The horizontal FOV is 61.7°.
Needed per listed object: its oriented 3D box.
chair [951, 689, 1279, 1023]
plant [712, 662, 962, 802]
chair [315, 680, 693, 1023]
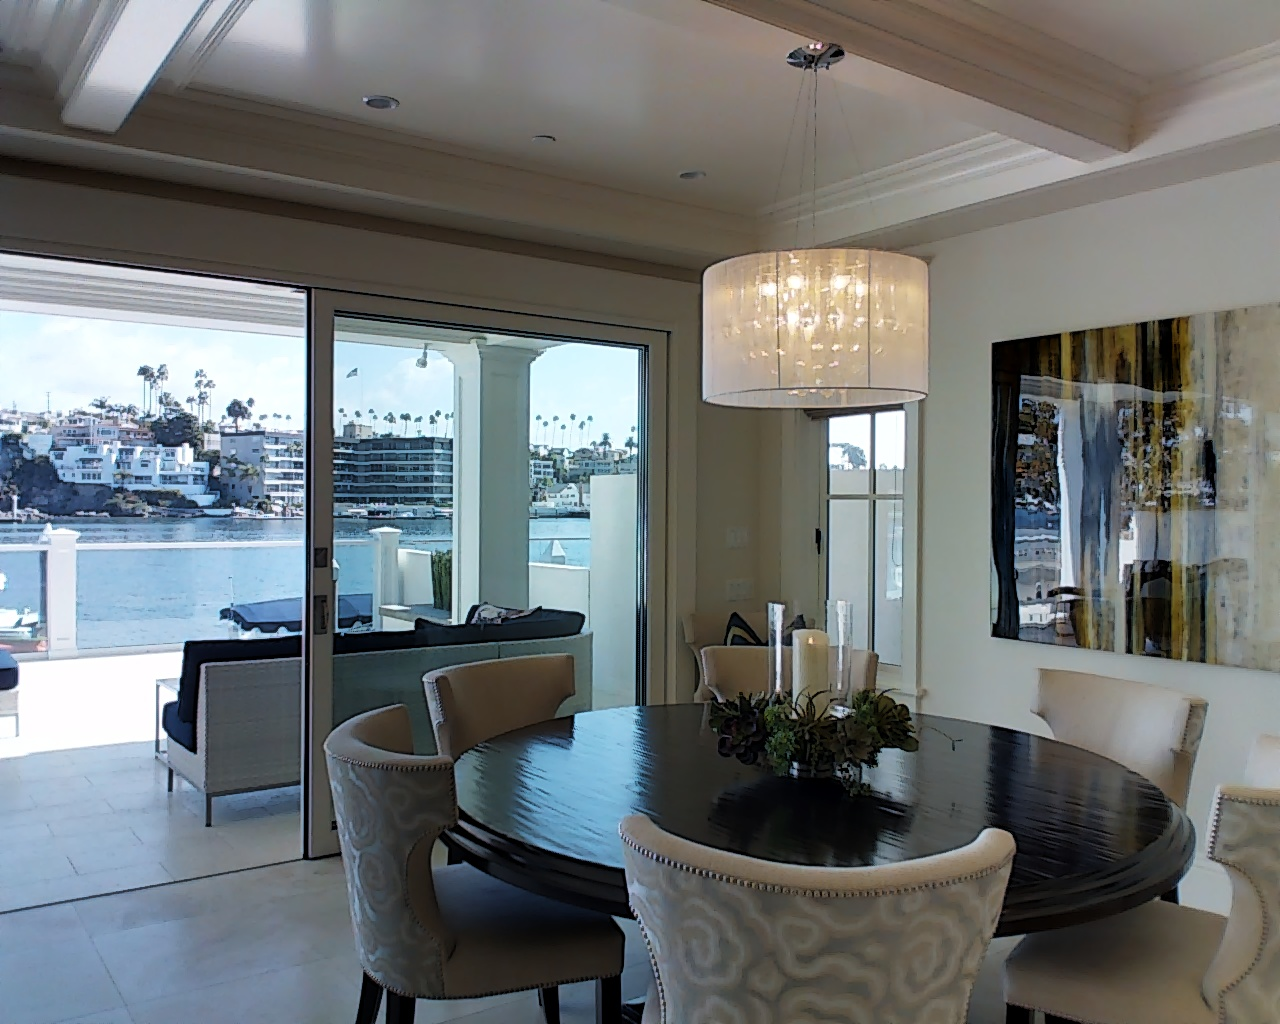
[{"bbox_3d":[1.239,0.980,2.440,0.820,0.970,0.720,1,0,37],"label":"chair"},{"bbox_3d":[0.510,0.590,2.990,0.580,0.240,0.680,0,0,1],"label":"plant"},{"bbox_3d":[-0.380,0.950,2.680,0.800,0.910,0.740,0,0,-19],"label":"chair"}]
